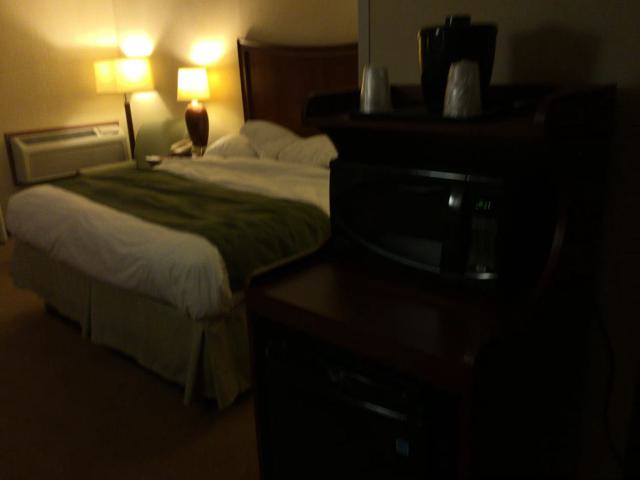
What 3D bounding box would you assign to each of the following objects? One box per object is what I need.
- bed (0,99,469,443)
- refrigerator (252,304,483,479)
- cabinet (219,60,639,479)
[{"bbox_3d":[-0.580,-0.170,3.460,2.080,1.080,2.000,16,24,39],"label":"bed"},{"bbox_3d":[0.070,0.640,1.320,0.490,0.870,0.150,18,25,42],"label":"refrigerator"},{"bbox_3d":[0.250,0.330,1.390,0.690,1.440,0.610,16,24,39],"label":"cabinet"}]
